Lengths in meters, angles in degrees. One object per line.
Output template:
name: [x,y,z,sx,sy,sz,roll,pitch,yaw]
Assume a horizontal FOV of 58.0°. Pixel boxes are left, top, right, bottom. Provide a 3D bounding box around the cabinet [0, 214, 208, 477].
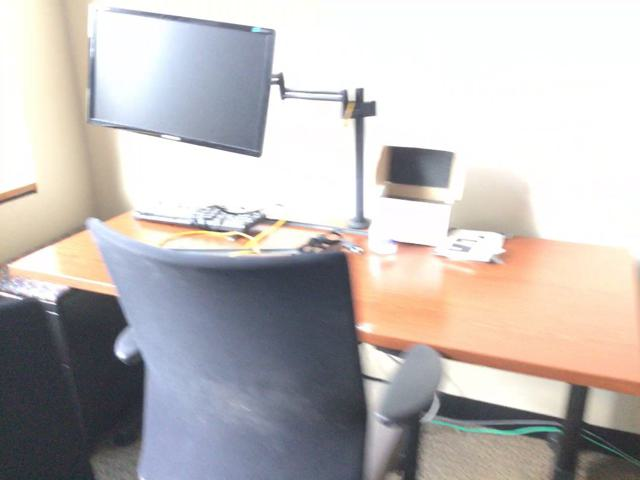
cabinet: [-0.800,0.310,2.040,0.460,0.600,0.660,9,21,23]
